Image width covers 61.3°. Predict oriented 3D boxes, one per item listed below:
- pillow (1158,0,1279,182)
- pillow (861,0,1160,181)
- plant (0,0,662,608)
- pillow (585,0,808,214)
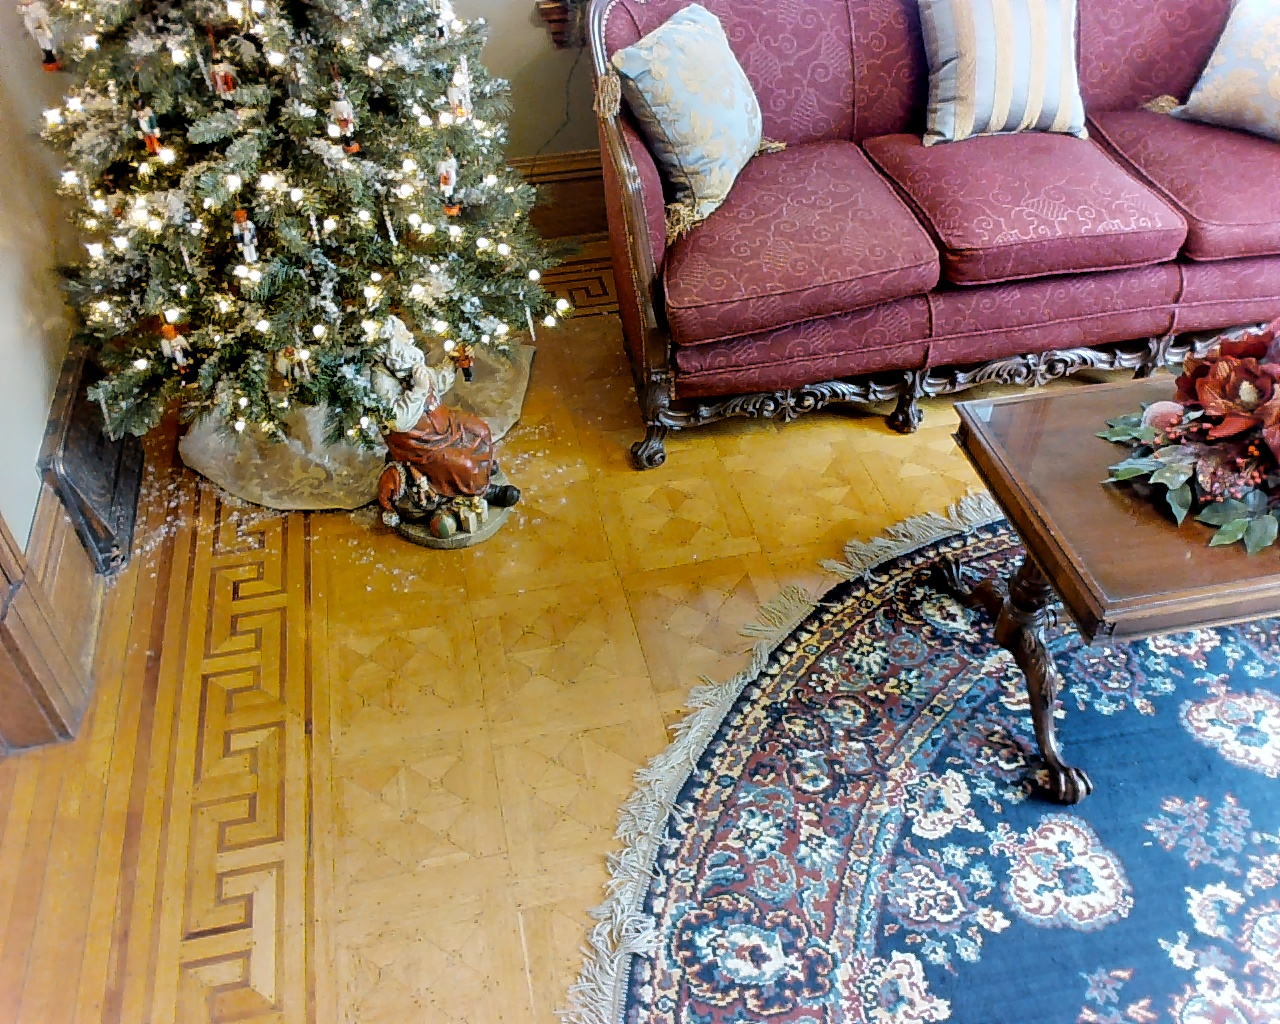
[{"bbox_3d":[1.520,-1.050,2.470,0.420,0.420,0.210,50,26,15],"label":"pillow"},{"bbox_3d":[0.840,-1.080,2.490,0.420,0.440,0.250,10,38,-28],"label":"pillow"},{"bbox_3d":[-0.620,-0.960,1.840,1.120,2.040,0.950,-9,44,-9],"label":"plant"},{"bbox_3d":[0.130,-0.890,2.320,0.190,0.390,0.430,37,30,3],"label":"pillow"}]
